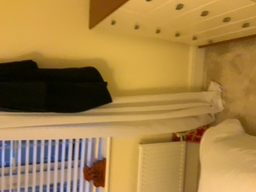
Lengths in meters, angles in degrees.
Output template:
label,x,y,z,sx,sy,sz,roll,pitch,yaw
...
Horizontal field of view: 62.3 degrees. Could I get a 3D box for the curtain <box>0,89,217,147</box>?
label,x,y,z,sx,sy,sz,roll,pitch,yaw
curtain,-0.260,0.120,1.390,0.200,2.140,0.290,8,96,63

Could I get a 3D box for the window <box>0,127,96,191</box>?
label,x,y,z,sx,sy,sz,roll,pitch,yaw
window,-0.760,0.640,1.550,0.120,1.030,0.770,7,95,63
